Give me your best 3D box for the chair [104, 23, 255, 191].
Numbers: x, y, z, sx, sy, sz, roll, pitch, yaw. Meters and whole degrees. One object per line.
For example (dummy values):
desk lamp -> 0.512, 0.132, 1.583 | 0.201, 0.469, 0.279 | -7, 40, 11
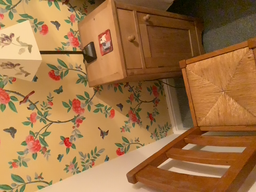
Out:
chair -> 0.430, 0.020, 0.970 | 0.450, 0.900, 0.480 | -11, 90, 50
